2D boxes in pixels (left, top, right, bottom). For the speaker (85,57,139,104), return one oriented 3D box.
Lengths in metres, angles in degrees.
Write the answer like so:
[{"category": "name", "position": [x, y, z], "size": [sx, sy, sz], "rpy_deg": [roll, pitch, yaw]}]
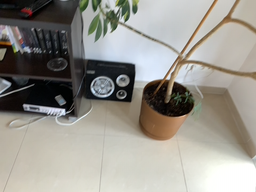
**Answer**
[{"category": "speaker", "position": [-0.120, -0.110, 1.600], "size": [0.370, 0.250, 0.200], "rpy_deg": [5, 46, -5]}]
